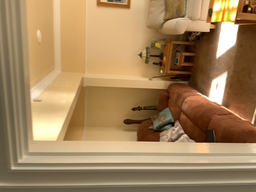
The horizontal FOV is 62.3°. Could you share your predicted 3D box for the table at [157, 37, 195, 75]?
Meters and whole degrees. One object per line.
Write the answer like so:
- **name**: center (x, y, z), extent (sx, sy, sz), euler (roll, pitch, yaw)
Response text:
- **table**: center (0.900, -0.780, 4.090), extent (0.520, 0.490, 0.630), euler (-111, 25, -71)
